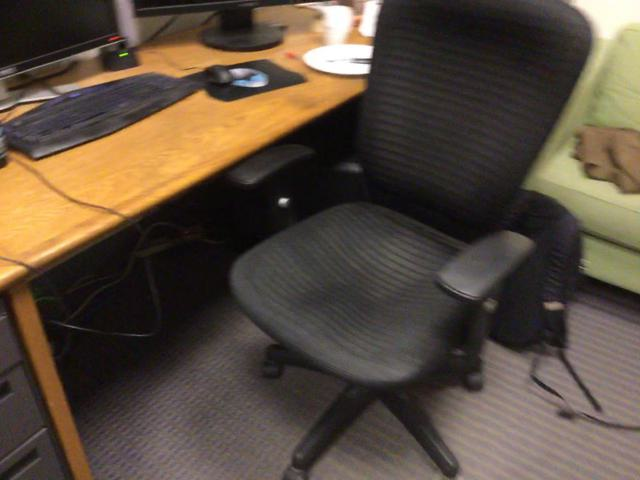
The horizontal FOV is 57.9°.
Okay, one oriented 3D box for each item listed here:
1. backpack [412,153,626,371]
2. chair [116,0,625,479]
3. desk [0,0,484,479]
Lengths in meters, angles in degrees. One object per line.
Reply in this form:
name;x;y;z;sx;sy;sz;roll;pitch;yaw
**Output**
backpack;0.580;0.050;1.750;0.470;0.440;0.310;20;39;27
chair;0.120;0.020;1.280;0.650;1.040;0.630;20;39;27
desk;-0.330;-0.190;1.780;0.870;0.850;2.000;20;39;27
